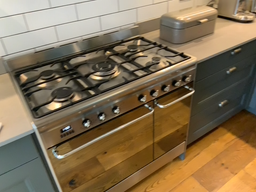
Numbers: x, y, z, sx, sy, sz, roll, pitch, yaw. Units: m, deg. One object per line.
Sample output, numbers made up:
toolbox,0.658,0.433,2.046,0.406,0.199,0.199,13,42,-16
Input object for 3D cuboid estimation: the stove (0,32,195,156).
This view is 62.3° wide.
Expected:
stove,-0.180,-0.120,1.230,0.920,0.150,0.620,-23,39,-26

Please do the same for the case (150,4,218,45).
case,0.400,-0.530,1.530,0.420,0.150,0.240,-25,40,-28
